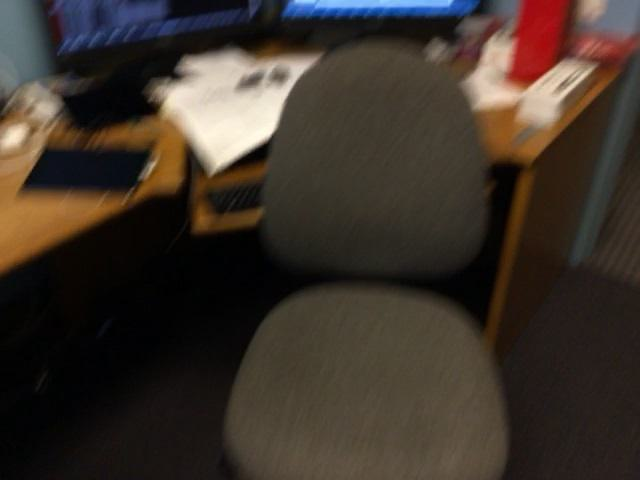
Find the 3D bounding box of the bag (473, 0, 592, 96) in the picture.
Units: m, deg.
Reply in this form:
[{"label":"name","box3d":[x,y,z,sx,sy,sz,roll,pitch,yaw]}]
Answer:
[{"label":"bag","box3d":[0.610,-0.590,1.650,0.200,0.240,0.290,23,40,30]}]
